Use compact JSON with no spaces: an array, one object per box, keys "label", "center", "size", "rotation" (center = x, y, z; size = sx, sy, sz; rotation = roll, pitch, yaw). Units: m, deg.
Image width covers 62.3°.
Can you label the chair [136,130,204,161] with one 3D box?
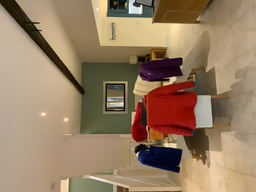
[{"label":"chair","center":[0.700,0.850,3.700],"size":[0.450,1.080,0.500],"rotation":[110,161,-80]}]

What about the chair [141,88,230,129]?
[{"label":"chair","center":[0.750,0.200,2.980],"size":[0.520,1.080,0.500],"rotation":[109,162,-79]}]

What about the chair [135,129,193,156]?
[{"label":"chair","center":[0.680,0.920,4.190],"size":[0.450,1.060,0.480],"rotation":[107,164,-78]}]

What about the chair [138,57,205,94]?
[{"label":"chair","center":[0.730,-0.350,3.750],"size":[0.460,1.060,0.510],"rotation":[108,163,-79]}]

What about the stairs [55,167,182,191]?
[{"label":"stairs","center":[-0.260,2.630,5.770],"size":[2.340,2.810,0.930],"rotation":[114,157,-81]}]
